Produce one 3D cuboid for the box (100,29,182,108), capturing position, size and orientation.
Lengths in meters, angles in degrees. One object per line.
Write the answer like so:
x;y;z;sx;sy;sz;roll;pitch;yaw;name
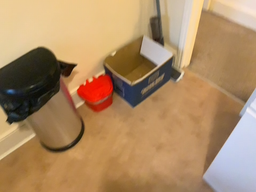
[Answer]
0.110;-0.240;1.730;0.510;0.270;0.380;-37;59;-22;box
